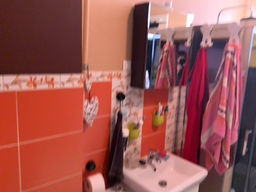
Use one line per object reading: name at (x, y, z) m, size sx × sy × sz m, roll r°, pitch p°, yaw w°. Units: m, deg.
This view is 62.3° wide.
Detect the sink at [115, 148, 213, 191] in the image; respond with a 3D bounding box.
sink at (0.290, 0.650, 1.710) m, size 0.600 × 0.150 × 0.510 m, roll -6°, pitch 14°, yaw -41°
